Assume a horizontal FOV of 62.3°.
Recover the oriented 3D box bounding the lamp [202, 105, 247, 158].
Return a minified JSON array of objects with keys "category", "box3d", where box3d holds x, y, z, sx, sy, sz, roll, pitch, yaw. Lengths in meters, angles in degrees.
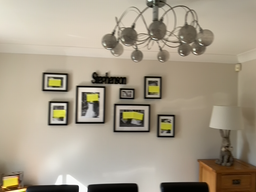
[{"category":"lamp","box3d":[1.070,0.380,2.390,0.310,0.540,0.380,1,-1,-5]}]
